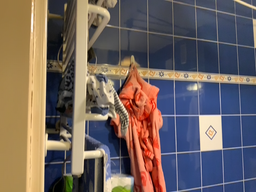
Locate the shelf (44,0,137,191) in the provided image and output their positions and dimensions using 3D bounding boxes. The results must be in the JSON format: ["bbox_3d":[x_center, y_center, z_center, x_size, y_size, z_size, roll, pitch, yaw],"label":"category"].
[{"bbox_3d":[-0.180,0.100,0.800,0.220,1.100,0.610,1,-4,-19],"label":"shelf"}]

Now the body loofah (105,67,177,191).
[{"bbox_3d":[0.080,0.360,1.280,0.410,1.030,0.130,1,-4,-21],"label":"body loofah"}]
